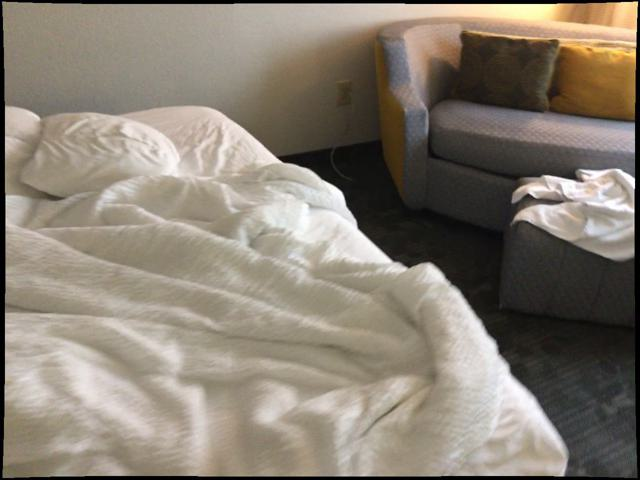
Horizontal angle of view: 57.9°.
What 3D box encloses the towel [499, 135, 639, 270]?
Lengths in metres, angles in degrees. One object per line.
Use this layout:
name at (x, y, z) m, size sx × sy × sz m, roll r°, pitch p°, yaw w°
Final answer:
towel at (1.069, -0.150, 2.230) m, size 0.669 × 0.210 × 0.520 m, roll 12°, pitch 35°, yaw 12°
